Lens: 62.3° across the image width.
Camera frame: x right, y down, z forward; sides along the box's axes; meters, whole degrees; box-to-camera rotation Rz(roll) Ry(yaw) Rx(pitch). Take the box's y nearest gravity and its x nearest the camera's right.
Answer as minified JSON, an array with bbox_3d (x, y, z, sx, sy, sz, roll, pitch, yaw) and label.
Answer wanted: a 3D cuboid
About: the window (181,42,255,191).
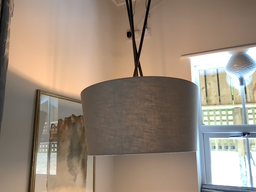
[{"bbox_3d":[0.880,0.280,1.750,0.790,1.430,0.130,-4,167,23],"label":"window"}]
